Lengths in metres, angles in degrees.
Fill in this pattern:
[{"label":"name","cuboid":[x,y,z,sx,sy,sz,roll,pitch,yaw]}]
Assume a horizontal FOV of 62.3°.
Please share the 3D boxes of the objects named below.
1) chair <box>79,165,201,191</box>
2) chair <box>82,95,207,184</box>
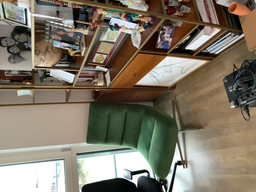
[{"label":"chair","cuboid":[0.110,1.070,2.040,0.630,1.010,0.620,149,118,-62]},{"label":"chair","cuboid":[0.100,0.340,2.140,0.800,0.940,0.500,-144,57,-61]}]
